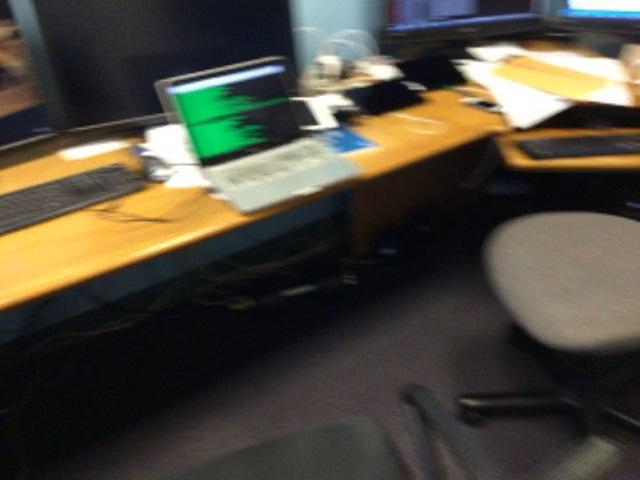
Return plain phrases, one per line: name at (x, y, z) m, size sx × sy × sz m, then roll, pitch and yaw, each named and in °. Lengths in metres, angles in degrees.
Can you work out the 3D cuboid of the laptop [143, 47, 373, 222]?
laptop at (-0.140, -0.270, 1.340) m, size 0.370 × 0.230 × 0.370 m, roll -23°, pitch 36°, yaw -30°
